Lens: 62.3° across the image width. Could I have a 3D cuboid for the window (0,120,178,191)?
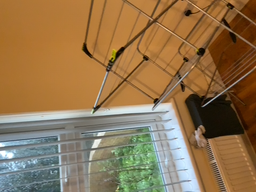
[{"bbox_3d":[-0.380,0.610,1.550,0.060,1.550,0.780,122,140,-57],"label":"window"}]
